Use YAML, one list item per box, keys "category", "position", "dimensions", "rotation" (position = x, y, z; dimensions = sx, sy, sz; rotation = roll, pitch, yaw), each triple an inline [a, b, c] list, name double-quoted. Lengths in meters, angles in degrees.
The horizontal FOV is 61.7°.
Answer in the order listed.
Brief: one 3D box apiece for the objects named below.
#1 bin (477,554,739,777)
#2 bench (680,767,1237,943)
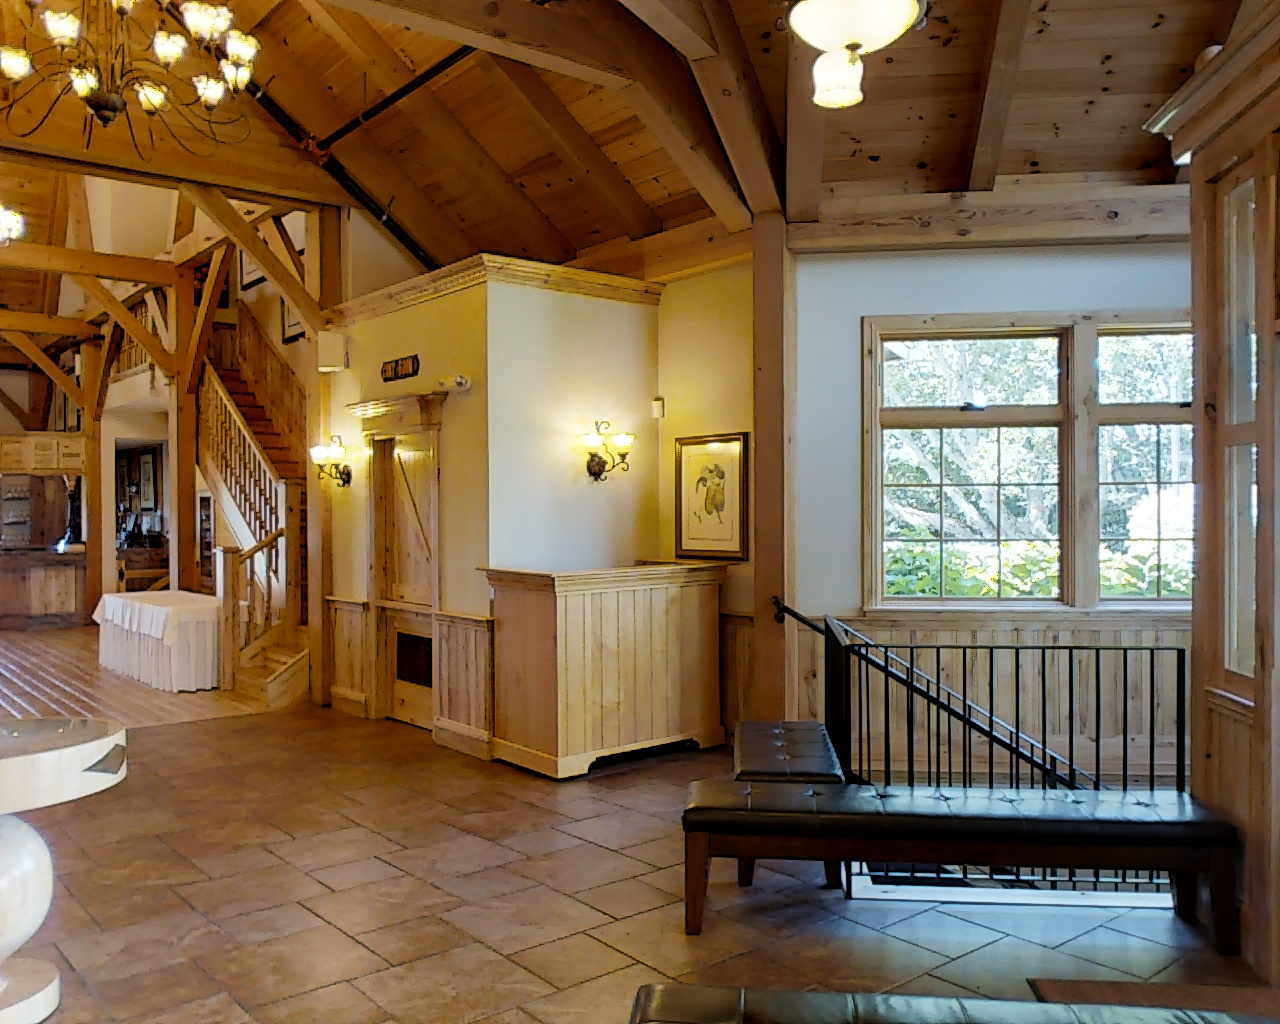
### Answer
- category: "bin"
  position: [-0.190, 0.920, 6.990]
  dimensions: [1.490, 1.210, 0.850]
  rotation: [-1, 1, -39]
- category: "bench"
  position: [1.140, 1.280, 4.090]
  dimensions: [1.940, 0.450, 0.530]
  rotation: [0, 1, 6]
